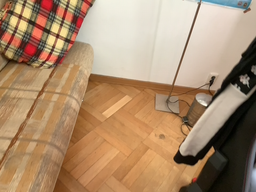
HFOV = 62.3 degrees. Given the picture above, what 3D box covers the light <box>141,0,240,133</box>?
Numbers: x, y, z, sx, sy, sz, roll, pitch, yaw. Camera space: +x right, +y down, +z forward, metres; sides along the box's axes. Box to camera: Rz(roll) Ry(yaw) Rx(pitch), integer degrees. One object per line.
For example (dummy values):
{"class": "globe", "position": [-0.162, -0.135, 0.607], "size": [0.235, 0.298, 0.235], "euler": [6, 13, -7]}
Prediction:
{"class": "light", "position": [0.400, -0.400, 1.560], "size": [0.320, 1.480, 0.470], "euler": [10, 41, -2]}
